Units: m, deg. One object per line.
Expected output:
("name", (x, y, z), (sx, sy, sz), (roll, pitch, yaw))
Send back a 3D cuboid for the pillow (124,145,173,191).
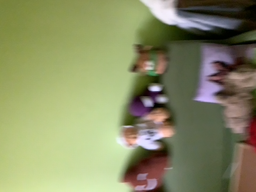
("pillow", (0.130, 0.480, 1.370), (0.100, 0.290, 0.280), (-165, 76, -66))
